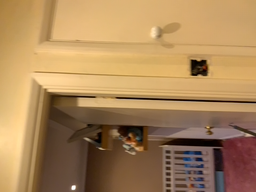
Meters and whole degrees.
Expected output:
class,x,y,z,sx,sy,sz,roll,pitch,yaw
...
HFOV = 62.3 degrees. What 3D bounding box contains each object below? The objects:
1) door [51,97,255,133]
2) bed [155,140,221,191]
class,x,y,z,sx,sy,sz,roll,pitch,yaw
door,0.640,0.160,1.280,0.740,1.950,0.080,100,172,-78
bed,0.990,1.610,3.700,0.780,0.910,1.590,98,174,-75
